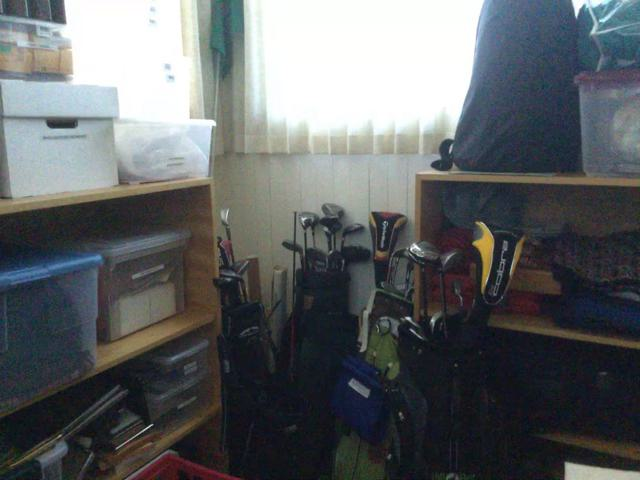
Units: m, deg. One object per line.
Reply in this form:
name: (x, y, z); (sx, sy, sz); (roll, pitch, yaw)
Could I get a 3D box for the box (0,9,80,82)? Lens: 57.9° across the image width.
box: (-0.650, -0.420, 1.260); (0.060, 0.130, 0.240); (4, 12, 28)

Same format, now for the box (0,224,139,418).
box: (-0.740, 0.170, 1.320); (0.330, 0.320, 0.520); (4, 12, 28)

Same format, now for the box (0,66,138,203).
box: (-0.630, -0.250, 1.380); (0.180, 0.280, 0.320); (4, 12, 28)

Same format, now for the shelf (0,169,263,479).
shelf: (-0.730, 0.510, 1.560); (0.660, 1.320, 1.020); (4, 12, 28)
